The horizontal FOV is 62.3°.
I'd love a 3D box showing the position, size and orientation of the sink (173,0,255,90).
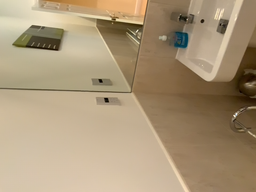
[{"bbox_3d":[0.480,-0.370,1.150,0.420,0.170,0.530,-118,35,-58],"label":"sink"}]
